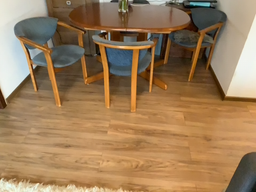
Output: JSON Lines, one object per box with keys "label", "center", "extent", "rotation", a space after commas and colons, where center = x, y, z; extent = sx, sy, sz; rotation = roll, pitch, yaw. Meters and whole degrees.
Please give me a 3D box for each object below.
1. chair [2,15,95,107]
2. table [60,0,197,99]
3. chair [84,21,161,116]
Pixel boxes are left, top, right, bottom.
{"label": "chair", "center": [-0.760, -0.390, 2.210], "extent": [0.570, 0.670, 0.570], "rotation": [19, 39, 21]}
{"label": "table", "center": [0.050, -0.670, 2.600], "extent": [1.230, 0.720, 1.220], "rotation": [6, 36, 4]}
{"label": "chair", "center": [-0.030, -0.300, 2.140], "extent": [0.570, 0.670, 0.600], "rotation": [10, 37, 10]}
